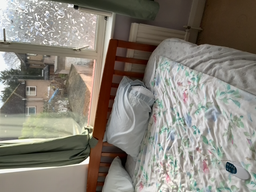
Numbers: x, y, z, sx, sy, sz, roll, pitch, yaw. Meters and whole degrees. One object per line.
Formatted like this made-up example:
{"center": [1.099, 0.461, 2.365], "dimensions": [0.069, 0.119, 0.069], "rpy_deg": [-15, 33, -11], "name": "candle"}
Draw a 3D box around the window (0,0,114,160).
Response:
{"center": [-0.900, -0.140, 1.800], "dimensions": [0.070, 1.430, 1.520], "rpy_deg": [-138, 53, -59], "name": "window"}
